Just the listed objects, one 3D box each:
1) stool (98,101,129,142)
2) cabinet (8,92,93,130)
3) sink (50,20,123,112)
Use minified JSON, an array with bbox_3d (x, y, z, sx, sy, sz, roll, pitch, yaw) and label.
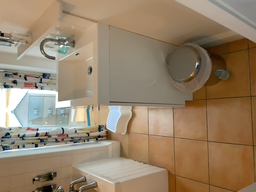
[{"bbox_3d":[-0.160,0.270,2.290,0.250,0.130,0.350,39,117,44],"label":"stool"},{"bbox_3d":[-0.880,0.170,2.530,0.200,0.930,0.390,0,88,51],"label":"cabinet"},{"bbox_3d":[-0.310,-0.140,1.400,0.660,0.170,0.450,-10,80,50],"label":"sink"}]
